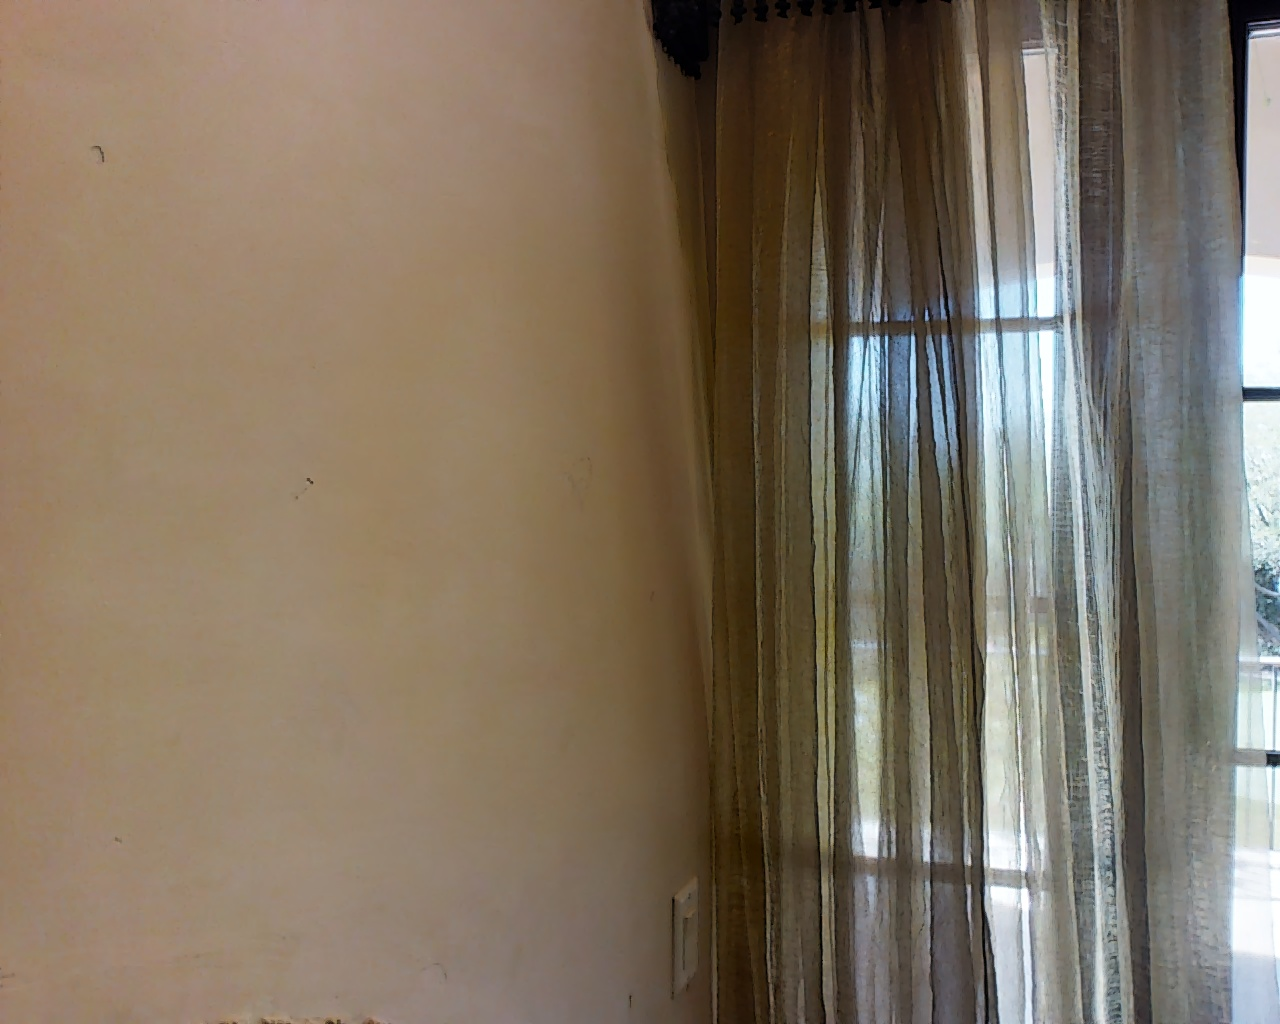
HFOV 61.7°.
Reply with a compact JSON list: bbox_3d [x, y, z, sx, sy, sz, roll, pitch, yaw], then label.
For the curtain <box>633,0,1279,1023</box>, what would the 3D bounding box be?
[{"bbox_3d":[0.480,0.420,1.370,0.910,2.300,0.380,1,0,14],"label":"curtain"}]
